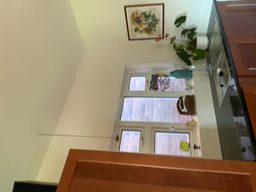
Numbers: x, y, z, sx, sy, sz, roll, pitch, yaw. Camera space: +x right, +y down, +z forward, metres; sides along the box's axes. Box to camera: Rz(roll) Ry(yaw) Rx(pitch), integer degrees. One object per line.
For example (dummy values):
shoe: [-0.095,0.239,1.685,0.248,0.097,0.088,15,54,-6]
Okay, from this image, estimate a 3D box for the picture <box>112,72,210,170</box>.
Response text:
picture: [0.400,0.190,2.590,0.070,0.970,1.360,81,-166,-48]
